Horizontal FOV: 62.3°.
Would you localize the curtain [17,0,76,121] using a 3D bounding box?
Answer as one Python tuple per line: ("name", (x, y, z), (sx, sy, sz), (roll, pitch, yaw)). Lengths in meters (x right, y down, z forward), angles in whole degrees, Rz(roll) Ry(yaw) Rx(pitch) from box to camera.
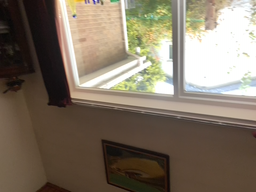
("curtain", (-0.960, -0.480, 2.530), (0.380, 1.580, 0.180), (8, -156, 31))
